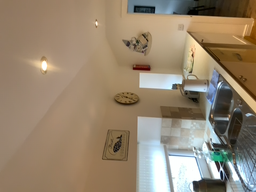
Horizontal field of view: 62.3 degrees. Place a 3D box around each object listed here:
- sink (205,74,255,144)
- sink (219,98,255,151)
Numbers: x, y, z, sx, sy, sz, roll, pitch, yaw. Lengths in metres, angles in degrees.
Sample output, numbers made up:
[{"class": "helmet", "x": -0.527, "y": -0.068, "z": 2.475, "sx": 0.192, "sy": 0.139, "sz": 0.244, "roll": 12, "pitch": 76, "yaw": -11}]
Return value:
[{"class": "sink", "x": 0.900, "y": 0.100, "z": 1.900, "sx": 0.410, "sy": 0.210, "sz": 0.470, "roll": -84, "pitch": -3, "yaw": -62}, {"class": "sink", "x": 0.850, "y": 0.220, "z": 1.630, "sx": 0.180, "sy": 0.160, "sz": 0.350, "roll": -84, "pitch": -3, "yaw": -62}]
